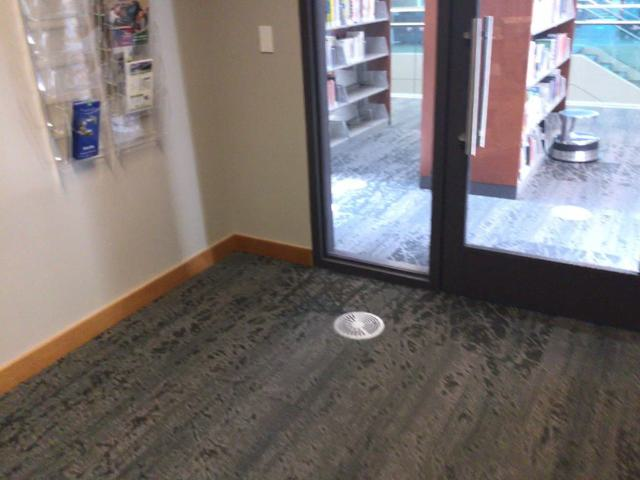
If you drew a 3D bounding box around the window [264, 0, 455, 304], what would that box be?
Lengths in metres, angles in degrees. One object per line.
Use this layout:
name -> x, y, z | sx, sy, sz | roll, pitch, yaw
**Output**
window -> 0.190, -0.630, 2.570 | 0.710, 1.760, 0.350 | 9, 27, 29
